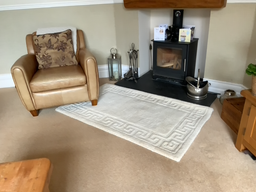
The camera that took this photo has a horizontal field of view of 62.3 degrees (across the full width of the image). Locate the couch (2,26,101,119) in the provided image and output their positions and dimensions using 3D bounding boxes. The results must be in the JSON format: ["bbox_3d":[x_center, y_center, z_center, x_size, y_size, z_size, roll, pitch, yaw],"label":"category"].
[{"bbox_3d":[-0.860,-0.370,2.610,0.820,0.750,1.040,-9,27,-13],"label":"couch"}]
